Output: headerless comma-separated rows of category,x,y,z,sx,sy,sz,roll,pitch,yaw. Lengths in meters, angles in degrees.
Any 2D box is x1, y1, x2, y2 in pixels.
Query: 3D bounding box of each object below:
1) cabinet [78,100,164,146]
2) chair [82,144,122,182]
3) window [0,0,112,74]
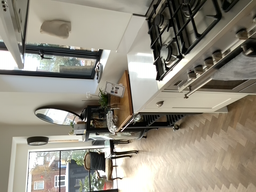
cabinet,-0.180,0.480,3.490,0.970,1.160,0.460,127,141,-60
chair,-0.670,1.640,5.320,0.660,0.840,0.660,-162,76,-71
window,-0.950,-0.580,2.370,1.080,1.310,0.090,128,139,-60
